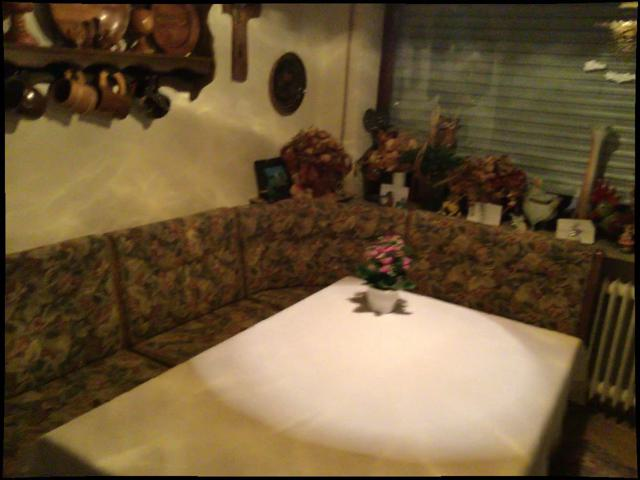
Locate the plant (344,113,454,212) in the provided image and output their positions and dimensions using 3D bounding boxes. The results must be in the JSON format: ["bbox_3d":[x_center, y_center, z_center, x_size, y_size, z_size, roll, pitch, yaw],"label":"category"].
[{"bbox_3d":[0.420,-0.430,3.090,0.420,0.420,0.350,17,21,32],"label":"plant"}]

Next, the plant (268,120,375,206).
[{"bbox_3d":[0.010,-0.410,2.970,0.340,0.340,0.430,17,21,32],"label":"plant"}]

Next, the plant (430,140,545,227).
[{"bbox_3d":[0.819,-0.290,2.840,0.420,0.310,0.310,17,21,32],"label":"plant"}]

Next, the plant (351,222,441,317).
[{"bbox_3d":[0.250,0.090,1.920,0.210,0.230,0.180,17,21,32],"label":"plant"}]

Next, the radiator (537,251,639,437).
[{"bbox_3d":[1.588,0.541,2.450,1.119,0.691,0.220,17,21,32],"label":"radiator"}]

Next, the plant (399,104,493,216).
[{"bbox_3d":[0.639,-0.420,2.950,0.310,0.490,0.290,17,21,32],"label":"plant"}]
